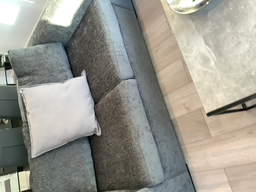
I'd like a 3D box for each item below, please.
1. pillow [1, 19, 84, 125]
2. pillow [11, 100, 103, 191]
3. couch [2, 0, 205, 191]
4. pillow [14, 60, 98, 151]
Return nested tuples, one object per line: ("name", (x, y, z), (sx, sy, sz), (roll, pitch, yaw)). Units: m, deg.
("pillow", (-0.710, -0.160, 1.830), (0.310, 0.580, 0.700), (-17, 73, 12))
("pillow", (-0.540, 0.460, 1.670), (0.300, 0.500, 0.740), (-23, 74, 18))
("couch", (-0.340, 0.080, 1.690), (1.040, 0.830, 1.670), (-32, 68, 44))
("pillow", (-0.520, 0.110, 1.610), (0.230, 0.550, 0.550), (-23, 70, 13))
